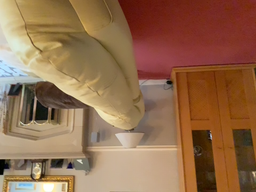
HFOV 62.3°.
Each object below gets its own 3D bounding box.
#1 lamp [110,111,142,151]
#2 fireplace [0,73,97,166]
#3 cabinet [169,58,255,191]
[{"bbox_3d":[-0.020,0.460,2.710,0.320,0.450,0.350,-4,165,11],"label":"lamp"},{"bbox_3d":[-1.300,0.390,3.120,1.510,1.170,0.740,-3,165,7],"label":"fireplace"},{"bbox_3d":[1.120,0.660,2.540,1.050,2.110,0.500,-3,165,7],"label":"cabinet"}]
